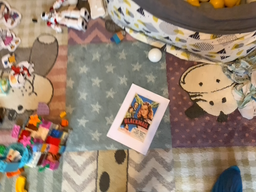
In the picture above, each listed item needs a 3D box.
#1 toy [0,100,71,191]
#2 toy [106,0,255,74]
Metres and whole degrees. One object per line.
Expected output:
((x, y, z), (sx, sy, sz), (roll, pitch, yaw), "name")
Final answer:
((-0.590, 0.240, 0.890), (0.600, 0.290, 0.400), (0, 77, 1), "toy")
((0.330, -0.600, 0.990), (0.840, 0.400, 0.850), (-4, 77, 0), "toy")
